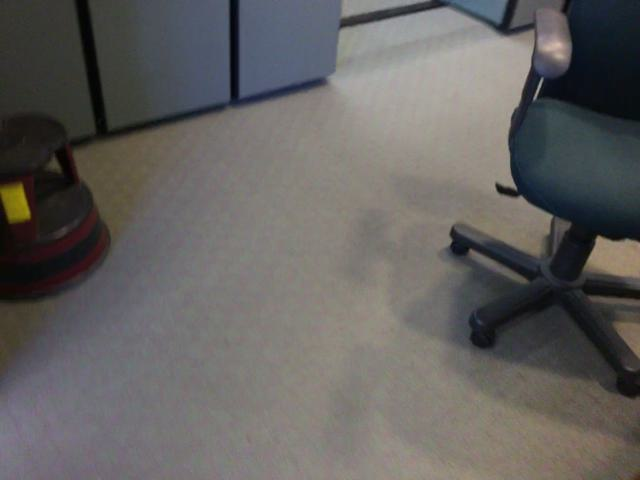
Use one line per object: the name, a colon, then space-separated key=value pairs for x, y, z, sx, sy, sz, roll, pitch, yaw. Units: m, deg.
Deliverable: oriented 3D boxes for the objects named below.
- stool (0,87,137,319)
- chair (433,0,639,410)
stool: x=-0.770 y=-0.110 z=1.530 sx=0.380 sy=0.390 sz=0.360 roll=-25 pitch=48 yaw=-31
chair: x=0.720 y=-0.190 z=1.410 sx=0.620 sy=0.930 sz=0.680 roll=14 pitch=41 yaw=10
